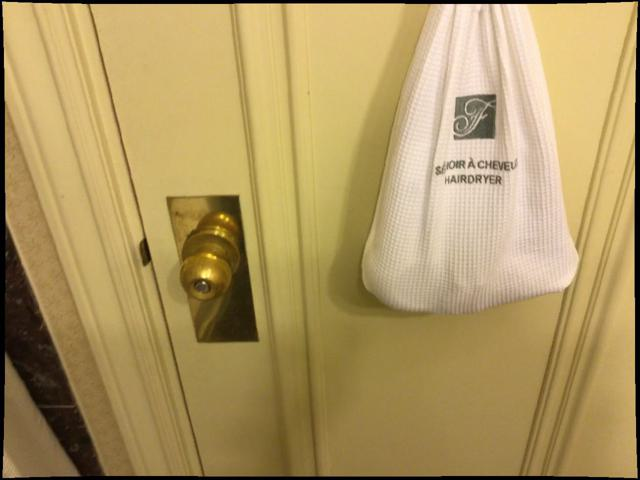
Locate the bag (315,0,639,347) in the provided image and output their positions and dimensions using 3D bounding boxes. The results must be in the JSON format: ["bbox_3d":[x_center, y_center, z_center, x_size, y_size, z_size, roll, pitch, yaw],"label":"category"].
[{"bbox_3d":[0.120,-0.140,0.480,0.220,0.520,0.100,-5,34,8],"label":"bag"}]
